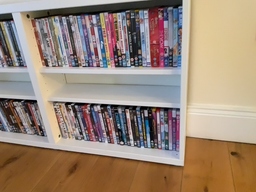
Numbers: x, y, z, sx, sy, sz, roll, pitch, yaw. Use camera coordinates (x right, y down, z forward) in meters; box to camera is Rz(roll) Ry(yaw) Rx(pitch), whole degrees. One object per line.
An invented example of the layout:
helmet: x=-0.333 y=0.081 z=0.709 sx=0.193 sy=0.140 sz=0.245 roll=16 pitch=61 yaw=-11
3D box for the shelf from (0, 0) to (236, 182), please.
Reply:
shelf: x=-0.290 y=-0.050 z=0.970 sx=1.300 sy=0.620 sz=0.270 roll=4 pitch=27 yaw=16
